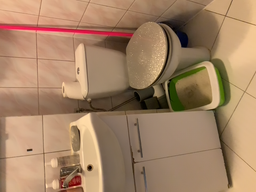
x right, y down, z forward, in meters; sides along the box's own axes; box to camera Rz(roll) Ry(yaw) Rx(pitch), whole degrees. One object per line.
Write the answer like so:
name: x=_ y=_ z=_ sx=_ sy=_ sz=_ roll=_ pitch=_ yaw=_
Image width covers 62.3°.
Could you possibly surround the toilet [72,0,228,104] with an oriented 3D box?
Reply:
toilet: x=0.090 y=-0.230 z=1.390 sx=0.640 sy=0.740 sz=0.420 roll=-28 pitch=66 yaw=59
